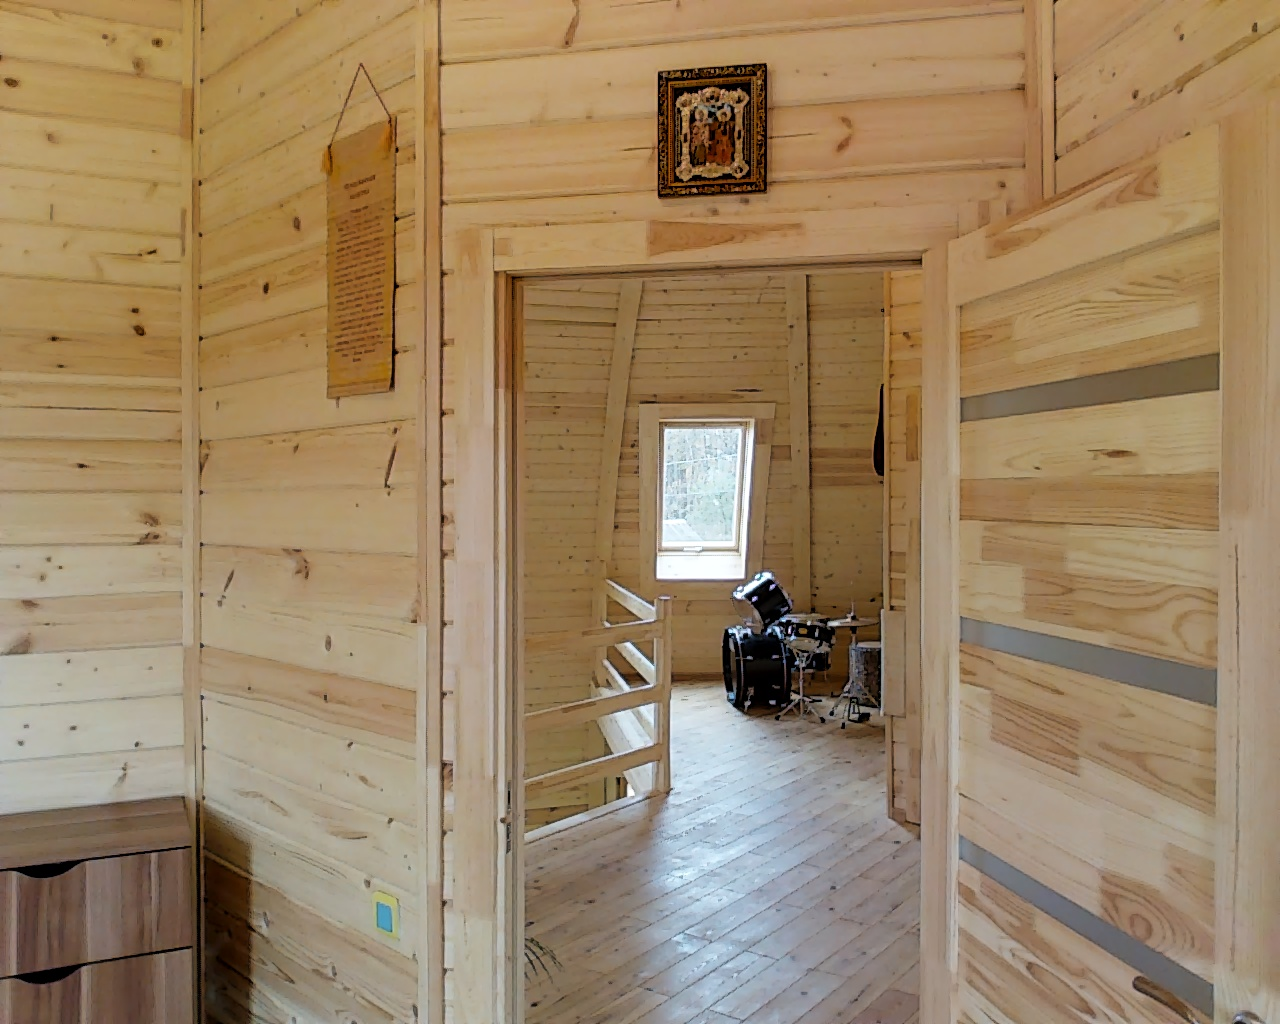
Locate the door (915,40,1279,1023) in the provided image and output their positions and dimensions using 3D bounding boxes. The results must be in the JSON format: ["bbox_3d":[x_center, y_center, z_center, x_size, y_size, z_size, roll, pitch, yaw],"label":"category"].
[{"bbox_3d":[0.600,0.540,1.480,0.050,2.071,0.790,0,1,-14],"label":"door"}]
